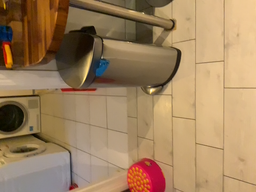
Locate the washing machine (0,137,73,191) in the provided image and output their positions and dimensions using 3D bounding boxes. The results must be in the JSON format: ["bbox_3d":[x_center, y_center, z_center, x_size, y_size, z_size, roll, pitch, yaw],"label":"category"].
[{"bbox_3d":[-1.280,0.930,2.710,0.760,0.840,0.530,3,95,48],"label":"washing machine"}]
